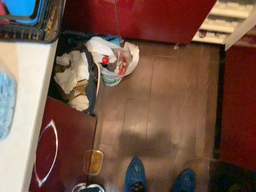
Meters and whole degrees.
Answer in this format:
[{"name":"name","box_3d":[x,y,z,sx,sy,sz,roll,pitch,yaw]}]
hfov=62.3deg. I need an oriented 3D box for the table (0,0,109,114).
[{"name":"table","box_3d":[-0.320,-0.210,0.890,0.350,0.890,0.450,8,80,1]}]
